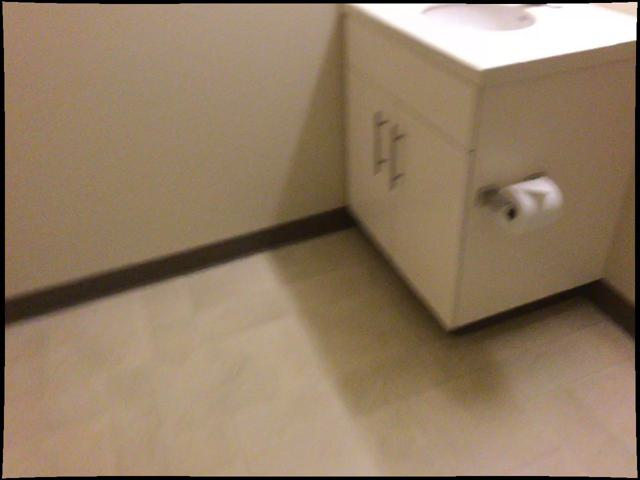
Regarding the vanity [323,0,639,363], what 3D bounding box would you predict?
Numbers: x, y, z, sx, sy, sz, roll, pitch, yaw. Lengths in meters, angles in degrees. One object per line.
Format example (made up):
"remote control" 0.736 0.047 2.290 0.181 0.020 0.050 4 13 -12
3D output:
"vanity" 0.459 -0.311 1.850 0.579 0.962 0.810 -16 36 -17
